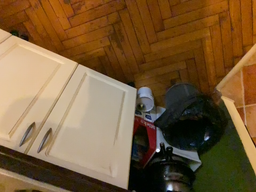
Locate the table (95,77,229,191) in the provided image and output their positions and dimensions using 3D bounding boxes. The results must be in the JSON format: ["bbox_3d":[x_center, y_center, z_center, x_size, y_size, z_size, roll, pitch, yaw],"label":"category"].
[{"bbox_3d":[0.150,0.440,1.290,0.500,0.890,0.580,23,126,-12],"label":"table"}]
